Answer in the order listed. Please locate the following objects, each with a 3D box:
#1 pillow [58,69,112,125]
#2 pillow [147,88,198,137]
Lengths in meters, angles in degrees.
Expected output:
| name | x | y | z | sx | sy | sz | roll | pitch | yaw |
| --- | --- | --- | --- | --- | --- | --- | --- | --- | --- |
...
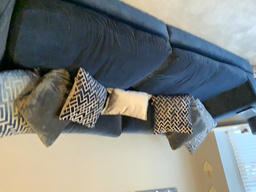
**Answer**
| name | x | y | z | sx | sy | sz | roll | pitch | yaw |
| --- | --- | --- | --- | --- | --- | --- | --- | --- | --- |
| pillow | -0.330 | 0.020 | 1.690 | 0.130 | 0.320 | 0.390 | -37 | 150 | 5 |
| pillow | 0.450 | 0.170 | 2.180 | 0.370 | 0.340 | 0.170 | -28 | 150 | -2 |
